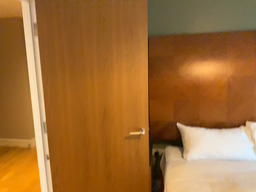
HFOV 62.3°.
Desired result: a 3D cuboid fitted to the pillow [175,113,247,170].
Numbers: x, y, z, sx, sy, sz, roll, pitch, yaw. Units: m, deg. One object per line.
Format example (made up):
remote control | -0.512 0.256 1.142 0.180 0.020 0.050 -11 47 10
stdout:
pillow | 0.770 0.430 2.020 0.540 0.290 0.160 -31 -4 16
